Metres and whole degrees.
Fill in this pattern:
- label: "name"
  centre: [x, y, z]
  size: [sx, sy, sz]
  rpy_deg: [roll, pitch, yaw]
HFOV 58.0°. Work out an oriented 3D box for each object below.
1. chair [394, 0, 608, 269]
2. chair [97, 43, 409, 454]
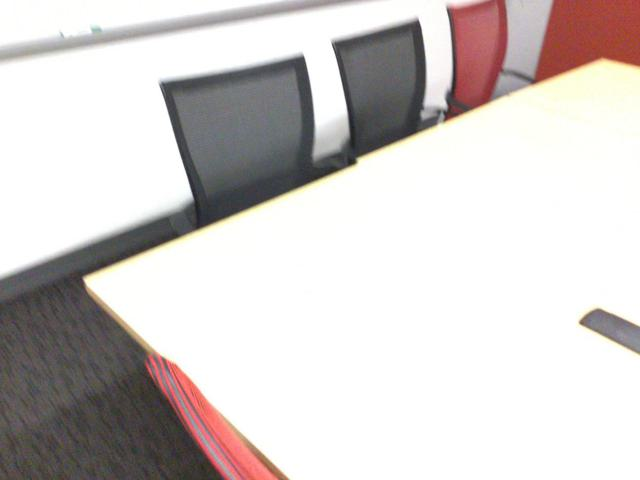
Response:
- label: "chair"
  centre: [0.670, -0.450, 2.280]
  size: [0.500, 0.900, 0.460]
  rpy_deg: [-26, 42, -36]
- label: "chair"
  centre: [-0.160, 0.000, 1.590]
  size: [0.560, 0.880, 0.460]
  rpy_deg: [-26, 42, -36]
